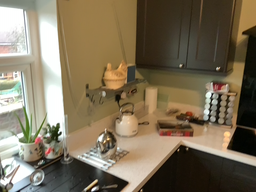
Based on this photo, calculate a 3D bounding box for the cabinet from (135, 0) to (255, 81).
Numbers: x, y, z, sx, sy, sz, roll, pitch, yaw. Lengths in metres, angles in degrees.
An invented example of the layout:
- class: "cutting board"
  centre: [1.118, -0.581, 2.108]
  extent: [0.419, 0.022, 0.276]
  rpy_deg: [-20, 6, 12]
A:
- class: "cabinet"
  centre: [0.560, -0.710, 1.860]
  extent: [0.910, 1.000, 0.360]
  rpy_deg: [11, 17, 31]
